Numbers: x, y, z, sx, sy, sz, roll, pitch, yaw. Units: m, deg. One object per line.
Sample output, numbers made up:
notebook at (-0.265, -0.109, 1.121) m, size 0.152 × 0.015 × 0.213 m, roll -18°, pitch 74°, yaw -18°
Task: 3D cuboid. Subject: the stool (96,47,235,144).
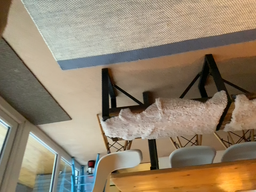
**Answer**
stool at (0.250, 0.020, 1.700) m, size 0.890 × 0.480 × 0.500 m, roll -7°, pitch 145°, yaw 4°
